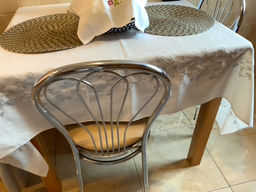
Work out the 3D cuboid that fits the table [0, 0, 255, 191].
[{"bbox_3d":[-0.060,-0.040,1.150,0.930,0.750,0.710,-8,40,-9],"label":"table"}]
